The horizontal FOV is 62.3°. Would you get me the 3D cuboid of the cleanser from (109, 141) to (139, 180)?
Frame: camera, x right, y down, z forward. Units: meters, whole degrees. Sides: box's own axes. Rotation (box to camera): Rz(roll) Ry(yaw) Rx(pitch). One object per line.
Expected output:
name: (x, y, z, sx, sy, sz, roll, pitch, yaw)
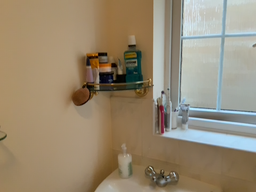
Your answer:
cleanser: (-0.020, 0.350, 1.170, 0.120, 0.150, 0.110, 6, 13, 30)
